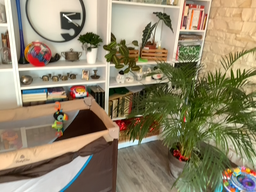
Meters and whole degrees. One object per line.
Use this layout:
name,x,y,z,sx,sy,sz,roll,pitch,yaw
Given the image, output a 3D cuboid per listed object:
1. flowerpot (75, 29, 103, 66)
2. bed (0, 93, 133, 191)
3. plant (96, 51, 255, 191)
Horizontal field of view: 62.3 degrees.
flowerpot,-0.390,-0.480,2.100,0.230,0.320,0.210,-5,23,-24
bed,-0.800,0.550,1.660,1.400,0.790,0.820,-7,23,-27
plant,0.460,0.300,2.070,1.080,1.200,1.450,-7,24,-28
